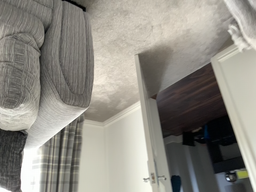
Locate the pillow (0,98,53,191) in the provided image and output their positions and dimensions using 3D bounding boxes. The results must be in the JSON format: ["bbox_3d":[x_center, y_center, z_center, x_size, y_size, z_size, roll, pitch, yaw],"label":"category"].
[{"bbox_3d":[-0.690,0.270,1.090,0.450,0.410,0.340,16,145,-37],"label":"pillow"}]
